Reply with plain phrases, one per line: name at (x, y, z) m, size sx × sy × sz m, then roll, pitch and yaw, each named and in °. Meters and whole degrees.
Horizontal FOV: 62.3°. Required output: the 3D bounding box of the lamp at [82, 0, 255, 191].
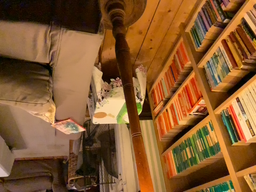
lamp at (0.060, 0.030, 0.890) m, size 0.440 × 1.520 × 0.430 m, roll 3°, pitch 148°, yaw -18°

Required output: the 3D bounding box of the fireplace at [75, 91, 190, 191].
fireplace at (-0.150, 0.950, 2.600) m, size 0.930 × 1.270 × 1.720 m, roll 1°, pitch 148°, yaw -15°
